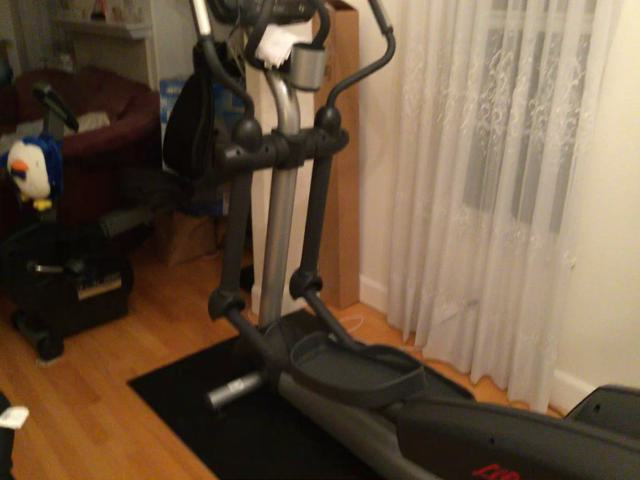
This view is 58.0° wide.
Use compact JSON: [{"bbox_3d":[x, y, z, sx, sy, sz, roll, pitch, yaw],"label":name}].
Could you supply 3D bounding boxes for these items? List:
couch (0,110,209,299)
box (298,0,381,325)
[{"bbox_3d":[-1.450,-0.140,2.540,1.840,0.650,0.510,-15,26,-36],"label":"couch"},{"bbox_3d":[0.070,-0.320,2.520,0.260,1.390,0.190,-15,26,-36],"label":"box"}]
